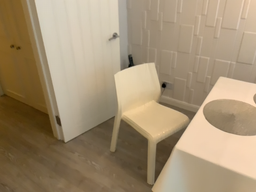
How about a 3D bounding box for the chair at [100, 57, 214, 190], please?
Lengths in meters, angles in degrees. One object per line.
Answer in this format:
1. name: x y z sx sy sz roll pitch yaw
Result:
1. chair: 0.210 0.190 1.830 0.660 0.780 0.580 -18 35 -26
